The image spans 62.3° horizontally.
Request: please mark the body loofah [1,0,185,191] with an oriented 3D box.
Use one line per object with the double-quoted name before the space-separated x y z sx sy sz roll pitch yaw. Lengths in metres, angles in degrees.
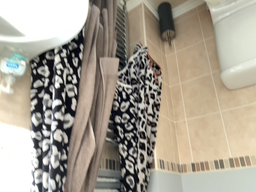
"body loofah" -0.070 0.090 0.930 0.340 0.890 0.650 -17 151 29
